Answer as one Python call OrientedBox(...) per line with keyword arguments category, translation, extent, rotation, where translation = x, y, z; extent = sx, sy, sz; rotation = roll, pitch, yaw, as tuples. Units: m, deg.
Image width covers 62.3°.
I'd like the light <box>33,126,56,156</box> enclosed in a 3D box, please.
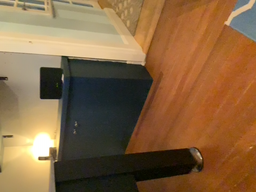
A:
OrientedBox(category="light", translation=(-0.920, 0.490, 2.330), extent=(0.220, 0.220, 0.210), rotation=(-118, 36, -48))
